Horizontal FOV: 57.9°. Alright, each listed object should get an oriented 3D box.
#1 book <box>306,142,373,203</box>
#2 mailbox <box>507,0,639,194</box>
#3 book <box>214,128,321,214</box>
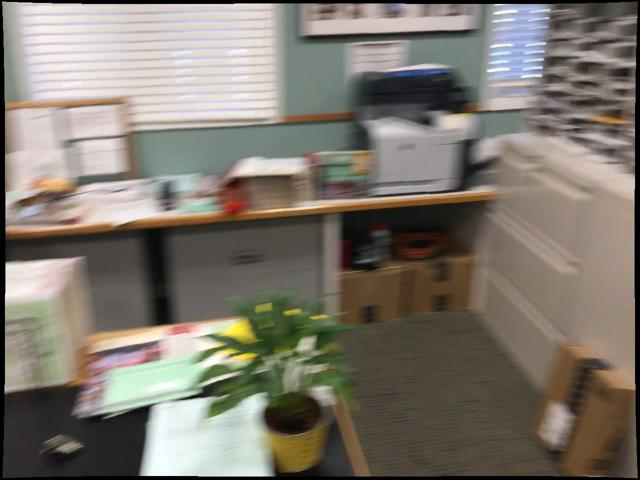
[{"bbox_3d":[0.090,-0.310,2.650,0.290,0.240,0.100,-6,24,-9],"label":"book"},{"bbox_3d":[1.169,-0.541,1.920,0.350,0.671,1.480,-6,24,-9],"label":"mailbox"},{"bbox_3d":[-0.280,-0.360,2.840,0.440,0.200,0.670,-6,24,-9],"label":"book"}]
